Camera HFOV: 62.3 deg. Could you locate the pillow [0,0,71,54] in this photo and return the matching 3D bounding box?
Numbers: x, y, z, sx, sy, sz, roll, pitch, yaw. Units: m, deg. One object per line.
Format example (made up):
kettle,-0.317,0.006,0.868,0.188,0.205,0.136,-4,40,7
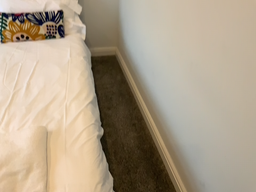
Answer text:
pillow,-0.810,-0.620,1.900,0.520,0.250,0.130,22,32,-35
